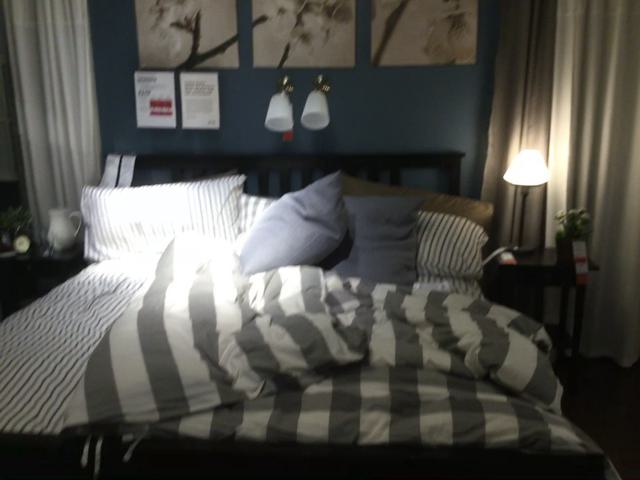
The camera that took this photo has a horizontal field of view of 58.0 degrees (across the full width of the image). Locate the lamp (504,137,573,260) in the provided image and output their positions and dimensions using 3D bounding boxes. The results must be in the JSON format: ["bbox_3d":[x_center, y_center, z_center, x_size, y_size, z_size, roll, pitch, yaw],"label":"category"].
[{"bbox_3d":[1.070,-0.210,2.860,0.260,0.560,0.240,-3,13,6],"label":"lamp"}]
